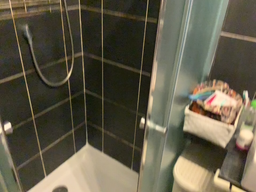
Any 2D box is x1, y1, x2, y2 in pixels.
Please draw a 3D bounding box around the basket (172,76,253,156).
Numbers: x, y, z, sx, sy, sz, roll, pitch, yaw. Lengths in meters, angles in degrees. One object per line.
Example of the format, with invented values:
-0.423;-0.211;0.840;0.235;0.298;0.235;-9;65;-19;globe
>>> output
0.380;0.070;0.960;0.240;0.190;0.260;22;35;28;basket
